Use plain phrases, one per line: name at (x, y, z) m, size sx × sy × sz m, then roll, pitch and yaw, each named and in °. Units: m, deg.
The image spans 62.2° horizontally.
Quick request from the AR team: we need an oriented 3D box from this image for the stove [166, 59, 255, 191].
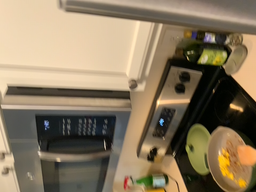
stove at (0.440, 0.310, 1.120) m, size 0.660 × 0.060 × 0.770 m, roll -104°, pitch 21°, yaw -49°
